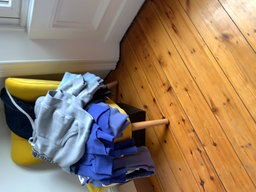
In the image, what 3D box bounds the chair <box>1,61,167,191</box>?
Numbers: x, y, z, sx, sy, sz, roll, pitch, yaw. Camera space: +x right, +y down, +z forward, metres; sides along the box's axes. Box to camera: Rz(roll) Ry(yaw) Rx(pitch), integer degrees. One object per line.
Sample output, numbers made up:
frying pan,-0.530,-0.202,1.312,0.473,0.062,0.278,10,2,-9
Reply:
chair,-0.300,0.170,1.300,0.680,0.690,0.590,32,122,47
